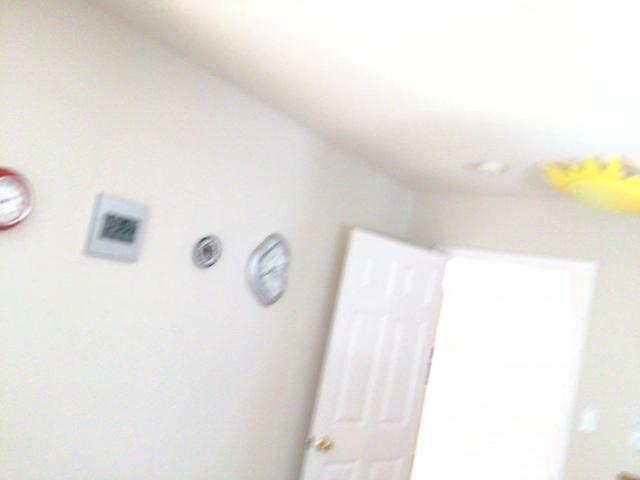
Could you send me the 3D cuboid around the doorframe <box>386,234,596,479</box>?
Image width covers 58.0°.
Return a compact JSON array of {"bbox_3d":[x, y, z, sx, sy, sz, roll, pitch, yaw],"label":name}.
[{"bbox_3d":[0.870,1.060,3.150,0.890,2.140,0.240,5,-11,36],"label":"doorframe"}]
